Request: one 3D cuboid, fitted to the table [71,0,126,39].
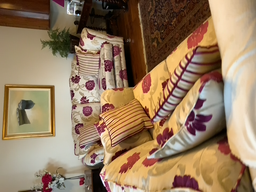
[{"bbox_3d":[-0.610,-1.660,3.990,1.090,0.770,0.610,142,124,-63],"label":"table"}]

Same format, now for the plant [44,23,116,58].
[{"bbox_3d":[-0.920,-1.040,4.070,0.360,1.290,0.410,140,126,-63],"label":"plant"}]

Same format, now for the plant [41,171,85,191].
[{"bbox_3d":[-1.020,1.360,3.330,0.240,0.630,0.260,140,126,-63],"label":"plant"}]

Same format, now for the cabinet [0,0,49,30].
[{"bbox_3d":[-1.940,-1.590,3.800,0.480,0.970,0.490,138,128,-62],"label":"cabinet"}]
